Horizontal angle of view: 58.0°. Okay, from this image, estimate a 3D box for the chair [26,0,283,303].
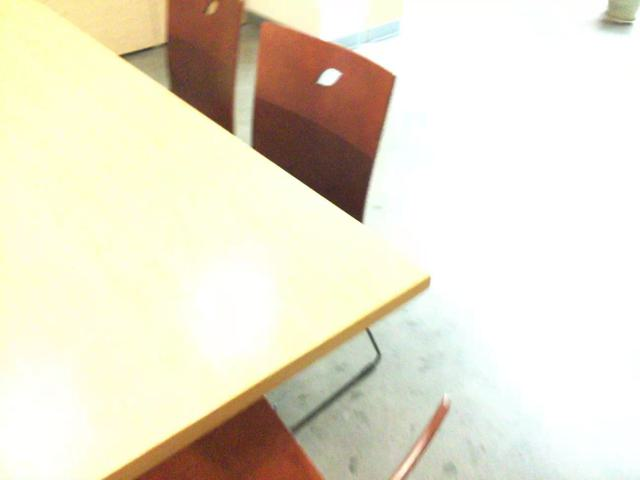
[{"bbox_3d":[-0.470,-0.340,1.730,0.480,0.790,0.510,-24,45,-34],"label":"chair"}]

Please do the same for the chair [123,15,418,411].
[{"bbox_3d":[-0.130,-0.080,1.410,0.410,0.750,0.470,-24,43,-34],"label":"chair"}]
